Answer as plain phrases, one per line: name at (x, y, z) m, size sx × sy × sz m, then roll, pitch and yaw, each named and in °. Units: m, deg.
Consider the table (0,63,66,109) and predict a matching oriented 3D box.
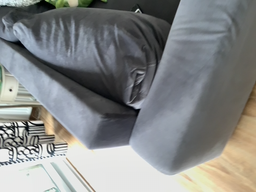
table at (-1.000, -0.090, 2.100) m, size 0.310 × 0.620 × 0.320 m, roll 27°, pitch 103°, yaw 40°
